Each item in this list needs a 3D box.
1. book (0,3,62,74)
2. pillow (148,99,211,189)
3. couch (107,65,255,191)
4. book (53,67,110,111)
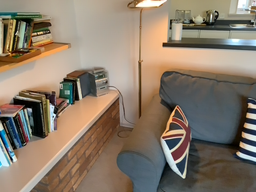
[{"bbox_3d":[-0.870,-0.290,1.150,0.260,0.360,1.200,9,26,20],"label":"book"},{"bbox_3d":[0.330,0.270,1.310,0.150,0.330,0.460,32,32,10],"label":"pillow"},{"bbox_3d":[0.880,0.400,1.270,1.750,0.810,0.890,8,26,18],"label":"couch"},{"bbox_3d":[-0.440,-0.090,2.120,0.340,0.250,0.460,8,26,20],"label":"book"}]
